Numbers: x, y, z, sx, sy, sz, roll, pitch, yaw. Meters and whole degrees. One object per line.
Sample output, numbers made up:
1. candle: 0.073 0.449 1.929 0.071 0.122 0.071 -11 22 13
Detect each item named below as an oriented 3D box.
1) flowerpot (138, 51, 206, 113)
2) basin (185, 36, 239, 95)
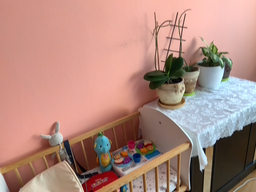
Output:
1. flowerpot: 0.320 -0.120 1.540 0.390 0.300 0.270 -20 28 -27
2. basin: 0.670 -0.260 1.720 0.340 0.370 0.230 -21 28 -29
